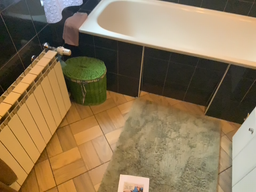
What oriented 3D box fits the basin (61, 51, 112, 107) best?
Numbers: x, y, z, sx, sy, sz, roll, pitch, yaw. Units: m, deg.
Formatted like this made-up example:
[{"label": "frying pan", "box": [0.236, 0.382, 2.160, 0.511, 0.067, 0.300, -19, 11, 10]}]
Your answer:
[{"label": "basin", "box": [-0.350, -0.150, 1.890, 0.320, 0.350, 0.260, 17, 51, 12]}]
